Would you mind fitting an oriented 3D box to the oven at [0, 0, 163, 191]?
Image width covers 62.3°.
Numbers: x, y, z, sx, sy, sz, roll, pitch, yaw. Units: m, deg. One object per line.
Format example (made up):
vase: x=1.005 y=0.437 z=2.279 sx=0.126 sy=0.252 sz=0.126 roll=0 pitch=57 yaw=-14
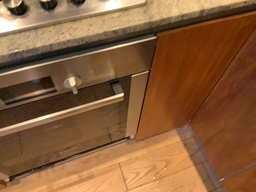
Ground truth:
oven: x=-0.340 y=-0.090 z=0.880 sx=0.590 sy=0.900 sz=0.630 roll=-16 pitch=61 yaw=-13
